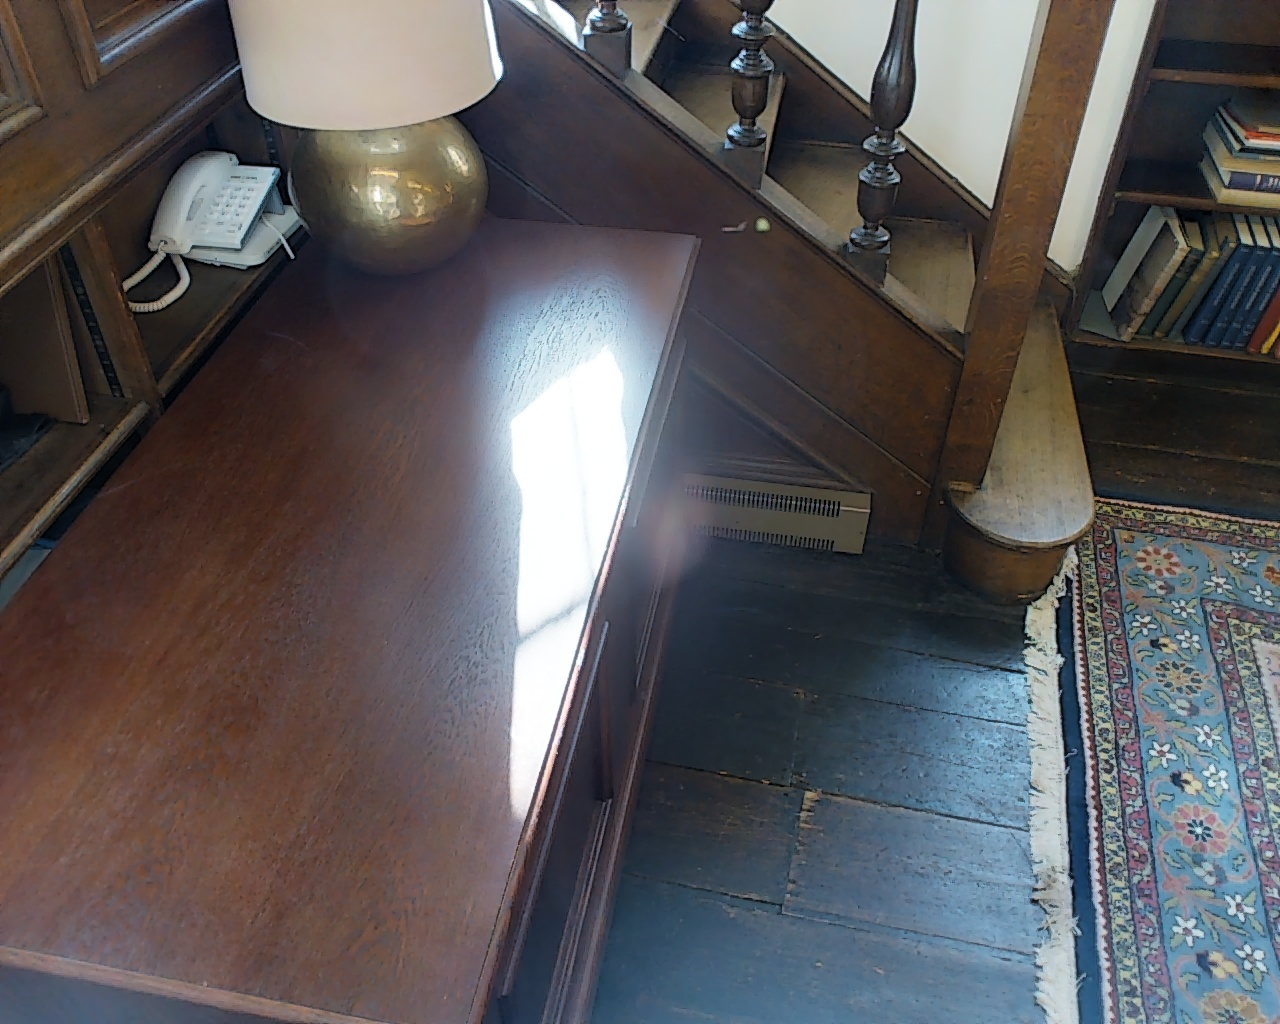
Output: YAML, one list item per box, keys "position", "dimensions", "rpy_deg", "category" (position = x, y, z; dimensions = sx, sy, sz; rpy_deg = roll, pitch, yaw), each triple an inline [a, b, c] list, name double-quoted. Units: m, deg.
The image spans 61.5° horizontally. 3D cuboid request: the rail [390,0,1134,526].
- position: [0.170, -0.780, 1.730]
  dimensions: [1.120, 1.870, 0.160]
  rpy_deg: [6, 41, 5]
  category: "rail"
